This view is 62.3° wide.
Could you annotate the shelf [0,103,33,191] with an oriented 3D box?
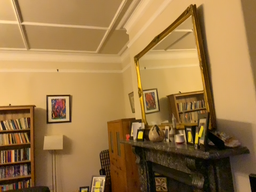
[{"bbox_3d":[-2.160,1.130,3.690,0.900,1.950,0.320,-1,-8,-20],"label":"shelf"}]
